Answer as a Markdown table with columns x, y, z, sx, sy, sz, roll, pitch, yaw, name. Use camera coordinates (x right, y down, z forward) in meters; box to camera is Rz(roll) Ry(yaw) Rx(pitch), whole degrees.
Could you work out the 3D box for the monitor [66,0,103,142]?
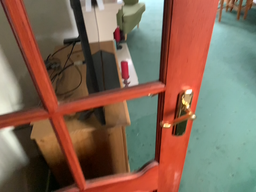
| x | y | z | sx | sy | sz | roll | pitch | yaw | name |
| --- | --- | --- | --- | --- | --- | --- | --- | --- | --- |
| -0.180 | -0.320 | 1.030 | 0.050 | 0.580 | 0.890 | -4 | 42 | -5 | monitor |
